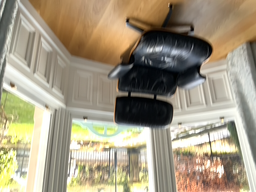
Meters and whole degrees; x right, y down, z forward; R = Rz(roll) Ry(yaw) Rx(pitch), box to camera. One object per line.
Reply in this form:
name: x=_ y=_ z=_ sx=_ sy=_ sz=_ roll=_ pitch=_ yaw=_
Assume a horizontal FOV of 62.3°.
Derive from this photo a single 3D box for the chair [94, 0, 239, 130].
chair: x=0.230 y=-0.220 z=1.900 sx=0.840 sy=0.820 sz=0.880 roll=8 pitch=156 yaw=-21
